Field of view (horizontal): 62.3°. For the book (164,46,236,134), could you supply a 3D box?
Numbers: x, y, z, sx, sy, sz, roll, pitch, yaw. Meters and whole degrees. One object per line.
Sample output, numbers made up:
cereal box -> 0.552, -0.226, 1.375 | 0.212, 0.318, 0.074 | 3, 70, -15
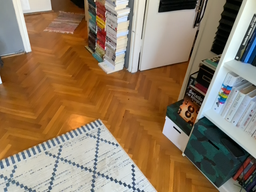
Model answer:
book -> 0.490, -0.030, 1.540 | 0.270, 0.570, 0.220 | -18, 46, -27

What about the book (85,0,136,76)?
book -> -0.240, -0.790, 2.420 | 0.210, 0.830, 0.730 | -19, 46, -28
